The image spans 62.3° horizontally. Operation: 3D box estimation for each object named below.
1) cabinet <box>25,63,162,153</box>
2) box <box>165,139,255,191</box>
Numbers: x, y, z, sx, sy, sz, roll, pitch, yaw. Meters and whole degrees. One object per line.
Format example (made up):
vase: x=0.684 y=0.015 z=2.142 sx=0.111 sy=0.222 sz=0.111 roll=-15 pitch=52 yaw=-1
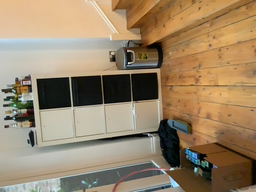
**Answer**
cabinet: x=-0.380 y=0.090 z=2.650 sx=0.470 sy=1.490 sz=0.900 roll=-165 pitch=71 yaw=-74
box: x=0.550 y=0.480 z=1.460 sx=0.460 sy=0.400 sz=0.230 roll=178 pitch=88 yaw=-75
